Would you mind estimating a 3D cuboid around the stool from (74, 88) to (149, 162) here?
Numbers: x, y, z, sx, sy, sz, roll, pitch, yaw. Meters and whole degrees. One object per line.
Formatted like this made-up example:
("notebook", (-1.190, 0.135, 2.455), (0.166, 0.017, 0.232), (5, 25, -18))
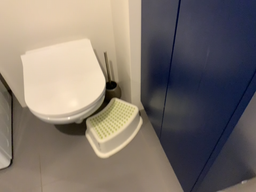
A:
("stool", (-0.090, 0.160, 1.280), (0.280, 0.140, 0.340), (32, 57, 26))
